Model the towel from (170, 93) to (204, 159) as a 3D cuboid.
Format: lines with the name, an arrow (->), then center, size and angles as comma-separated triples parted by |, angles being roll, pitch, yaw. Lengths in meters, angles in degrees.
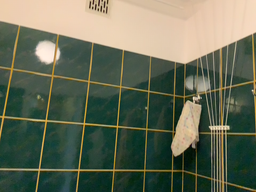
towel -> 0.380, 0.190, 1.370 | 0.190, 0.380, 0.200 | 2, -11, 14
